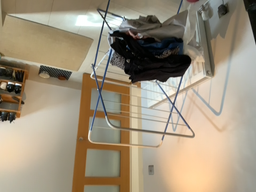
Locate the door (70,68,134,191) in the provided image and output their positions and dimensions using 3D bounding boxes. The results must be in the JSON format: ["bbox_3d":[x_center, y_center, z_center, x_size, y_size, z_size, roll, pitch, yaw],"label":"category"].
[{"bbox_3d":[-0.320,0.630,2.940,0.810,2.070,0.130,9,157,-23],"label":"door"}]
